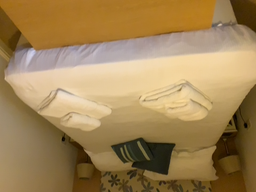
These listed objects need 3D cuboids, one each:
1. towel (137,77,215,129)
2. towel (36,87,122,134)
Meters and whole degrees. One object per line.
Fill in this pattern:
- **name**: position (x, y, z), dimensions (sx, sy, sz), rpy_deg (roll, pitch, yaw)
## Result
- **towel**: position (0.310, 0.070, 1.360), dimensions (0.350, 0.110, 0.380), rpy_deg (-21, 145, 32)
- **towel**: position (-0.350, 0.130, 1.530), dimensions (0.470, 0.090, 0.390), rpy_deg (22, 144, -33)
